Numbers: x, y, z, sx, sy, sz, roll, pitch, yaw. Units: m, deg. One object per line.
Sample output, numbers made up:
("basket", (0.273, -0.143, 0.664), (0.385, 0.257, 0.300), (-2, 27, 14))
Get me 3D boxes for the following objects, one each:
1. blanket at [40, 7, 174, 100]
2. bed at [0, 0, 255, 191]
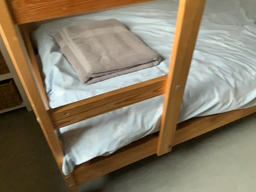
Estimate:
("blanket", (-0.130, -0.250, 1.040), (0.500, 0.130, 0.500), (-15, 45, -17))
("bed", (0.510, -0.670, 1.050), (2.060, 1.530, 1.040), (-16, 45, -18))
